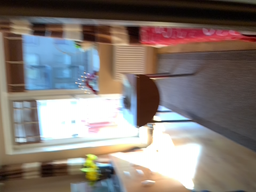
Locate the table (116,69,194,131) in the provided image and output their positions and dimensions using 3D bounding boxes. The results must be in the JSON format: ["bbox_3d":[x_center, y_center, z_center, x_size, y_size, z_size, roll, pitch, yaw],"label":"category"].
[{"bbox_3d":[0.290,-0.010,2.780,0.820,0.720,0.610,-146,55,-69],"label":"table"}]

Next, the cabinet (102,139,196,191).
[{"bbox_3d":[0.180,1.240,3.030,1.460,0.830,0.570,-142,51,-68],"label":"cabinet"}]
